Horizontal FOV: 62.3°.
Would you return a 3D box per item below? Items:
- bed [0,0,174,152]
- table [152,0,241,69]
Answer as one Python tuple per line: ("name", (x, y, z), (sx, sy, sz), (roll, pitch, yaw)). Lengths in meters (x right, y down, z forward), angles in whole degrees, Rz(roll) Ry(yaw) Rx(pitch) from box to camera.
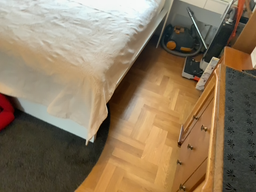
("bed", (-0.640, -0.800, 2.210), (1.780, 0.620, 2.150), (23, 43, 7))
("table", (0.820, -0.920, 2.650), (0.730, 0.780, 0.550), (22, 43, 7))
